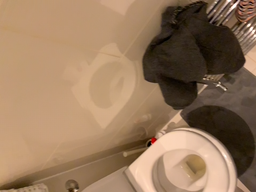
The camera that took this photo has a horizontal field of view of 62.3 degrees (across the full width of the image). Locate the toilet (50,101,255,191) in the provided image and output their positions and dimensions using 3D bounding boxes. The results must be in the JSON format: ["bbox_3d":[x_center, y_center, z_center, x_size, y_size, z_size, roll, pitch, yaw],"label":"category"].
[{"bbox_3d":[0.190,0.340,0.920,0.480,0.810,0.400,-50,64,24],"label":"toilet"}]
